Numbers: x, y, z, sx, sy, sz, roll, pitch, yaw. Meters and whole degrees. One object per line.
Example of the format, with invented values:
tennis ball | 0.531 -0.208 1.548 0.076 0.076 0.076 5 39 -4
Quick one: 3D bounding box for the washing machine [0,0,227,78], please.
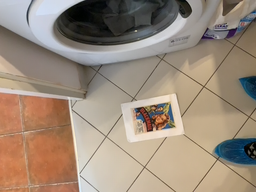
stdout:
washing machine | -0.060 -0.400 0.750 0.600 0.820 0.460 -10 85 9
